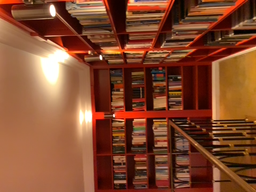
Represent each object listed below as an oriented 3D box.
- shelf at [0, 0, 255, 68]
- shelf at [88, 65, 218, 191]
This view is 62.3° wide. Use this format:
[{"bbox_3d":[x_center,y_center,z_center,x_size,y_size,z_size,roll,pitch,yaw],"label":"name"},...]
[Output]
[{"bbox_3d":[0.370,-0.590,1.450,3.750,2.010,0.440,-79,-12,-87],"label":"shelf"},{"bbox_3d":[0.450,2.420,3.670,0.370,2.040,5.800,-79,-12,-87],"label":"shelf"}]
